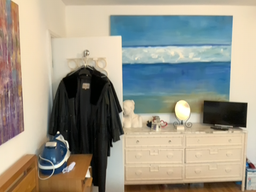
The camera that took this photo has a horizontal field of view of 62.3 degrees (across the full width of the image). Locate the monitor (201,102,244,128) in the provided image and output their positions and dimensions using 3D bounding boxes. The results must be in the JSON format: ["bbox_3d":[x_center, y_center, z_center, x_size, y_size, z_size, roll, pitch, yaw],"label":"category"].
[{"bbox_3d":[1.320,0.260,2.980,0.540,0.310,0.030,3,8,28],"label":"monitor"}]
